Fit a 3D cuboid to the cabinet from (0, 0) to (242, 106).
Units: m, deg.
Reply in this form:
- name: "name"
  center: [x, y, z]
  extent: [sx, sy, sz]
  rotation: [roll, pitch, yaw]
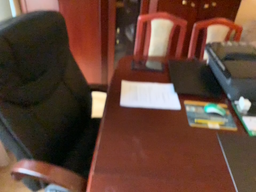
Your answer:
- name: "cabinet"
  center: [-0.110, -0.540, 2.200]
  extent: [2.000, 1.040, 0.510]
  rotation: [4, 36, -1]
